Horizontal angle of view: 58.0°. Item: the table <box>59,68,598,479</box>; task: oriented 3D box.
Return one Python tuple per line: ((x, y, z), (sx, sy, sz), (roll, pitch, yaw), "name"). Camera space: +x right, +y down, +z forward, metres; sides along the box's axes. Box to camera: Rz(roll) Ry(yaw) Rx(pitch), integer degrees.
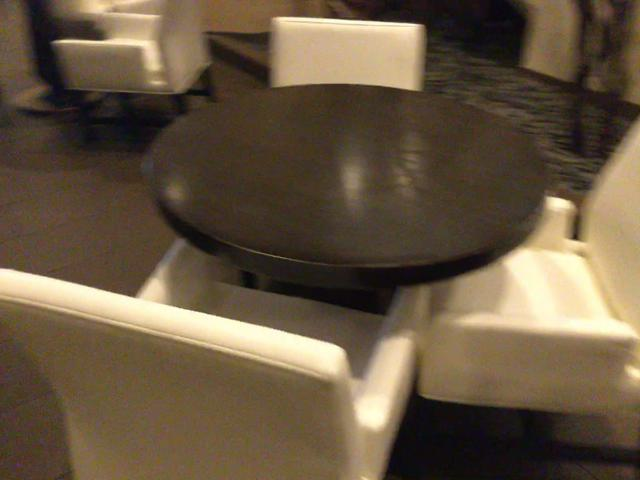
((0.030, 0.100, 1.540), (0.900, 0.780, 0.880), (6, 34, 4), "table")
